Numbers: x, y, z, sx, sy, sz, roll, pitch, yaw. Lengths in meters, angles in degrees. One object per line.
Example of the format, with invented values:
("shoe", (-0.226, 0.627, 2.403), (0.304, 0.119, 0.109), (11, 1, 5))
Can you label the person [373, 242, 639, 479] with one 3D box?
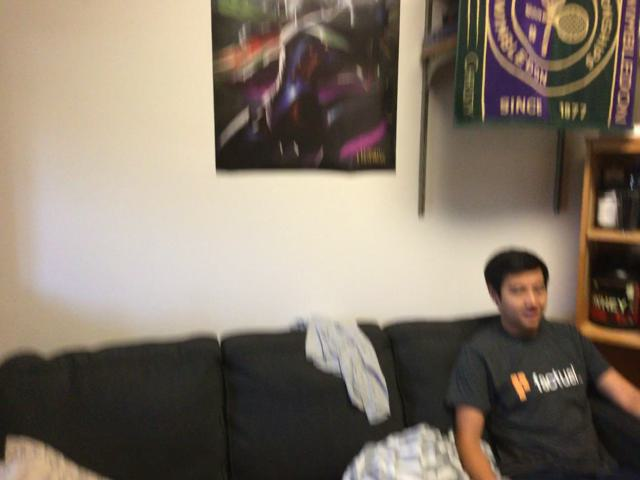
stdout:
("person", (0.700, 0.640, 1.710), (0.750, 1.140, 1.060), (-1, 7, -14))
